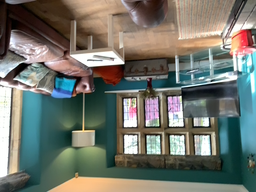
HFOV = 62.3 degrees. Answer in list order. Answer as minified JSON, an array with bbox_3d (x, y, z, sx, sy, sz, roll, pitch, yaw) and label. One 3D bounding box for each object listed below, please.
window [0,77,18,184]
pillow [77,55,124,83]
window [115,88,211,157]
[{"bbox_3d":[-2.150,0.510,3.130,0.210,1.650,1.110,-2,174,12],"label":"window"},{"bbox_3d":[-0.580,-0.560,4.680,0.840,0.410,0.750,-2,174,10],"label":"pillow"},{"bbox_3d":[0.760,0.610,4.970,2.160,1.530,0.090,-2,174,10],"label":"window"}]
